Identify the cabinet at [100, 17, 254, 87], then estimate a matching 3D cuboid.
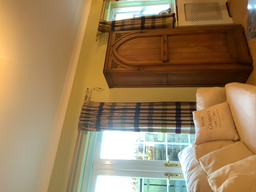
[{"bbox_3d":[0.600,-0.600,2.960,0.430,1.830,0.830,76,-164,-59],"label":"cabinet"}]
